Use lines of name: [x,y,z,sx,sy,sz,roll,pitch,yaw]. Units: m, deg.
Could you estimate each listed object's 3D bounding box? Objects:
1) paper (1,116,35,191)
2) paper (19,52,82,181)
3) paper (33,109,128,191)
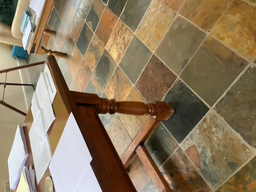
paper: [-0.670,0.350,1.270,0.370,0.070,0.280,-58,46,25]
paper: [-0.390,0.080,0.990,0.400,0.070,0.430,-59,46,25]
paper: [-0.180,0.290,0.690,0.380,0.100,0.320,52,122,40]
